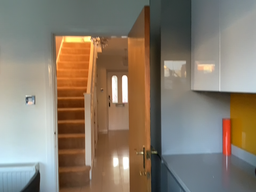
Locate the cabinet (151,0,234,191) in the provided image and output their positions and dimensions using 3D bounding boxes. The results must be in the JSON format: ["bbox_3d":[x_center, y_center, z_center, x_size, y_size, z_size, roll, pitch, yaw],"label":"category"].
[{"bbox_3d":[0.550,0.190,1.950,0.600,2.360,0.430,-1,2,-4],"label":"cabinet"}]
